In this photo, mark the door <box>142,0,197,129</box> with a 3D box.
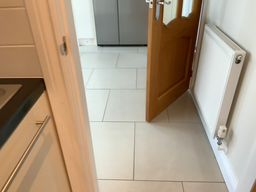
[{"bbox_3d":[0.360,-0.680,1.630,0.070,1.940,0.670,22,38,32],"label":"door"}]
